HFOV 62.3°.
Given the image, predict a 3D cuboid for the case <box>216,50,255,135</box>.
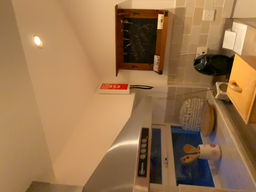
[{"bbox_3d":[0.640,-0.030,1.070,0.340,0.230,0.300,-77,-11,-61],"label":"case"}]
